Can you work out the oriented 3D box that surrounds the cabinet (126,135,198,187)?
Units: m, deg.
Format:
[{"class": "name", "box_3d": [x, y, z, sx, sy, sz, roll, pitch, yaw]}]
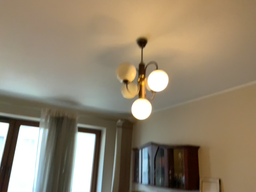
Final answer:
[{"class": "cabinet", "box_3d": [0.460, 1.020, 3.370, 0.310, 0.650, 1.320, 14, -20, -30]}]
